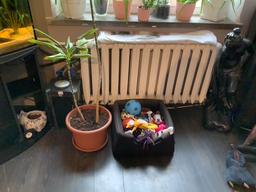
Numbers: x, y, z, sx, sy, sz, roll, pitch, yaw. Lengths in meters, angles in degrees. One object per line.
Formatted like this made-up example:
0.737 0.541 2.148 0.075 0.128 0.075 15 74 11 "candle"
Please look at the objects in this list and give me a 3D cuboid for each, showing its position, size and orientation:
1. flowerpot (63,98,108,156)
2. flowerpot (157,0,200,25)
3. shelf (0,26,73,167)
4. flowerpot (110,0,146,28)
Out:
-0.320 0.230 1.680 0.300 0.230 0.390 -2 35 -7 "flowerpot"
0.420 -0.780 1.780 0.280 0.290 0.220 -2 35 -7 "flowerpot"
-1.010 0.010 1.510 0.640 0.670 0.950 24 40 27 "shelf"
-0.010 -0.790 1.780 0.270 0.350 0.260 -2 35 -8 "flowerpot"
